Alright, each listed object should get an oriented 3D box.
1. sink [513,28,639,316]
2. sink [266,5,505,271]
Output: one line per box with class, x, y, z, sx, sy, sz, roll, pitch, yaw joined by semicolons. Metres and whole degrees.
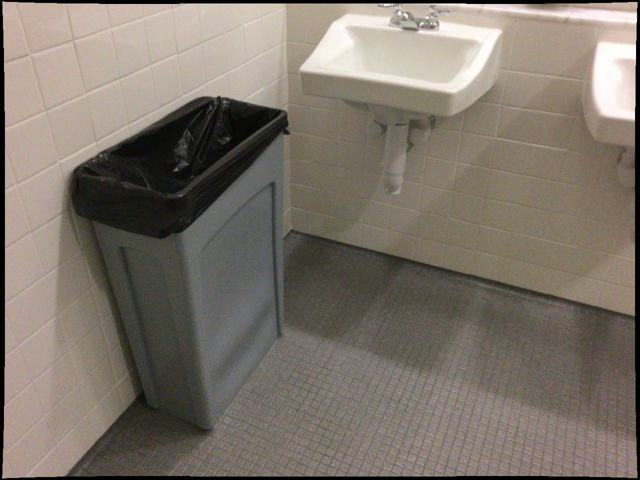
sink;0.898;-0.170;1.520;0.549;0.581;0.460;18;35;19
sink;0.190;-0.341;1.780;0.539;0.581;0.470;18;35;19
